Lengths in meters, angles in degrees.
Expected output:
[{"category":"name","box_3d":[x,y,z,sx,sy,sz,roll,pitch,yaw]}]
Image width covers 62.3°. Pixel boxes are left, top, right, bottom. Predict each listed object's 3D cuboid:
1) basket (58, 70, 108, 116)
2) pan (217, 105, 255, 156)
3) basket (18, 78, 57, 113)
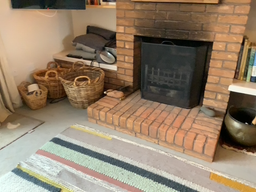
[{"category":"basket","box_3d":[-0.480,-0.050,2.360,0.330,0.320,0.420,14,28,25]},{"category":"pan","box_3d":[1.020,0.290,1.870,0.320,0.230,0.350,17,30,30]},{"category":"basket","box_3d":[-1.040,-0.010,2.440,0.350,0.280,0.200,15,29,28]}]
